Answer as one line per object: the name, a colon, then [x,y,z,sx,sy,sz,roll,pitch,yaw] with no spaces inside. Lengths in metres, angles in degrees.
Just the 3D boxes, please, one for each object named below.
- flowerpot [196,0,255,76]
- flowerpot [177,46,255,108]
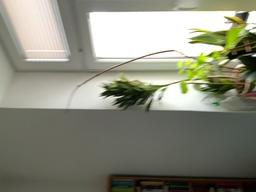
flowerpot: [0.690,-0.350,1.170,0.320,0.490,0.350,89,-178,-48]
flowerpot: [0.650,-0.130,1.420,0.320,0.560,0.270,-88,-2,-46]
